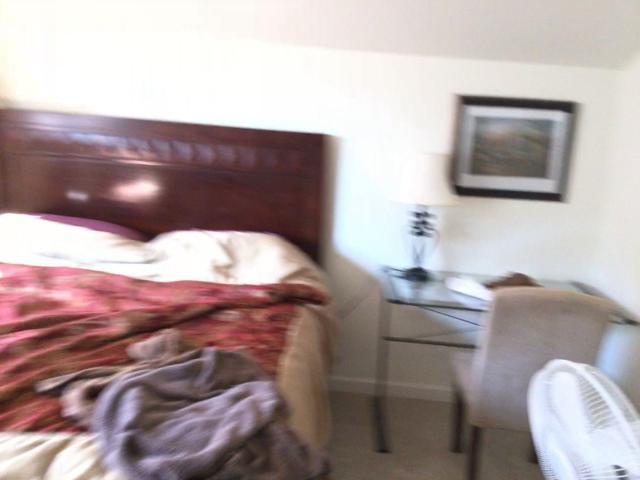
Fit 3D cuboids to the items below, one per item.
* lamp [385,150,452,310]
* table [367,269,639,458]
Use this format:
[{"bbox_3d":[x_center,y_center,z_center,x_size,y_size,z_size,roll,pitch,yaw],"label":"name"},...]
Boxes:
[{"bbox_3d":[0.450,-0.060,2.720,0.230,0.690,0.340,3,13,4],"label":"lamp"},{"bbox_3d":[0.790,0.550,2.730,1.070,0.650,0.550,3,13,1],"label":"table"}]
